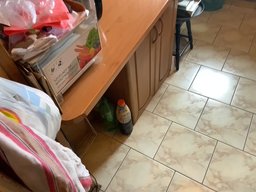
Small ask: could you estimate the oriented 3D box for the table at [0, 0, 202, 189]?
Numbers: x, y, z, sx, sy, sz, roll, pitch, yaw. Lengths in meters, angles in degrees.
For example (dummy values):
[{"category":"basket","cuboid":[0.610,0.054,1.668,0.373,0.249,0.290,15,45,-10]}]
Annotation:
[{"category":"table","cuboid":[0.060,-0.300,1.350,0.360,0.770,1.500,22,57,21]}]
